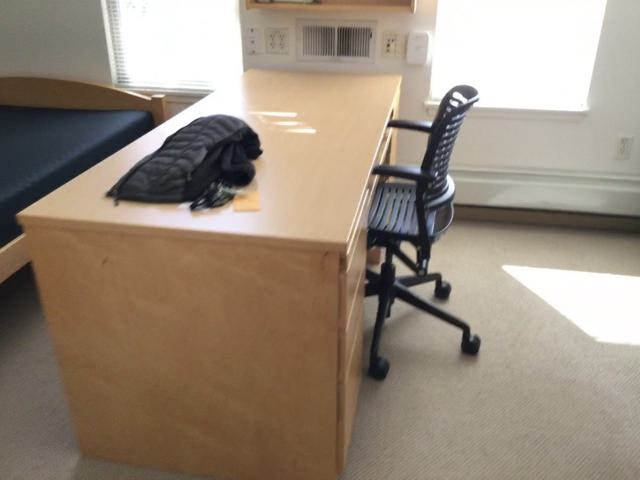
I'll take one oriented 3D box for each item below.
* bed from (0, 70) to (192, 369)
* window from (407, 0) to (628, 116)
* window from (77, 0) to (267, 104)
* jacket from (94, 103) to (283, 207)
[{"bbox_3d":[-1.670,-0.130,2.290,1.420,0.710,2.270,6,25,11],"label":"bed"},{"bbox_3d":[0.890,-1.460,2.460,0.880,1.750,0.290,6,25,11],"label":"window"},{"bbox_3d":[-0.740,-1.590,2.720,0.900,1.790,0.240,6,25,11],"label":"window"},{"bbox_3d":[-0.320,-0.250,1.560,0.320,0.130,0.480,6,25,11],"label":"jacket"}]
